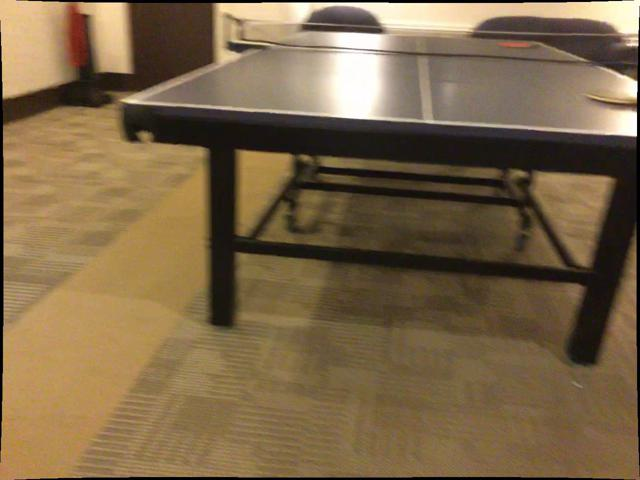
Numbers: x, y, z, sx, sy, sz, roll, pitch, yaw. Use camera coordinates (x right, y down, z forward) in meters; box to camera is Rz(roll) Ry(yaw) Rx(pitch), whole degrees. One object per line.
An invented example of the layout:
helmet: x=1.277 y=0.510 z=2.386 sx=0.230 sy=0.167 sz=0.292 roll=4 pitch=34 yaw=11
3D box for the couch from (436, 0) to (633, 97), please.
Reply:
couch: x=2.038 y=-1.992 z=5.760 sx=1.599 sy=0.841 sz=1.010 roll=6 pitch=24 yaw=11

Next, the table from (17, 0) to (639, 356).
table: x=0.440 y=-0.761 z=2.740 sx=1.848 sy=0.851 sz=3.130 roll=4 pitch=24 yaw=6

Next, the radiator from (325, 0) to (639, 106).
radiator: x=2.058 y=-1.872 z=5.510 sx=3.817 sy=0.771 sz=1.790 roll=4 pitch=24 yaw=6
